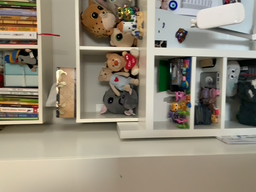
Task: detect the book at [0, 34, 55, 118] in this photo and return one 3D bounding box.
[{"bbox_3d":[-0.520,-0.090,1.000,0.220,0.290,0.350,-145,56,-82],"label":"book"}]
